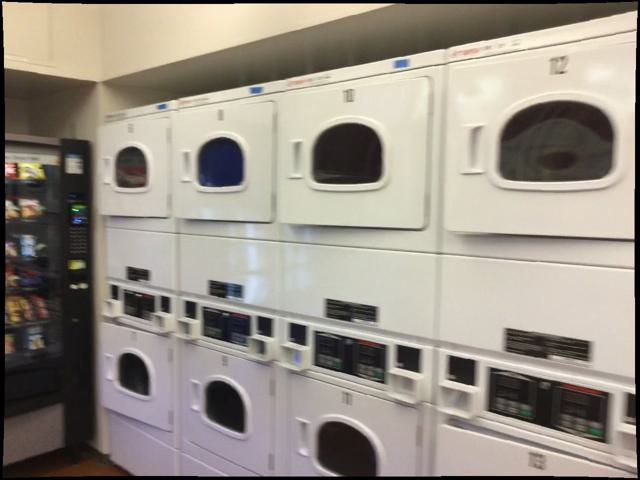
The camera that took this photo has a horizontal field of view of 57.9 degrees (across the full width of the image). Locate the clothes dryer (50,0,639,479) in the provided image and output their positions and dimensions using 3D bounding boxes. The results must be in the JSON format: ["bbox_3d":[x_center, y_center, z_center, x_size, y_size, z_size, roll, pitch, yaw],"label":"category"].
[{"bbox_3d":[-0.040,0.240,2.570,3.098,2.062,0.910,5,7,42],"label":"clothes dryer"}]
